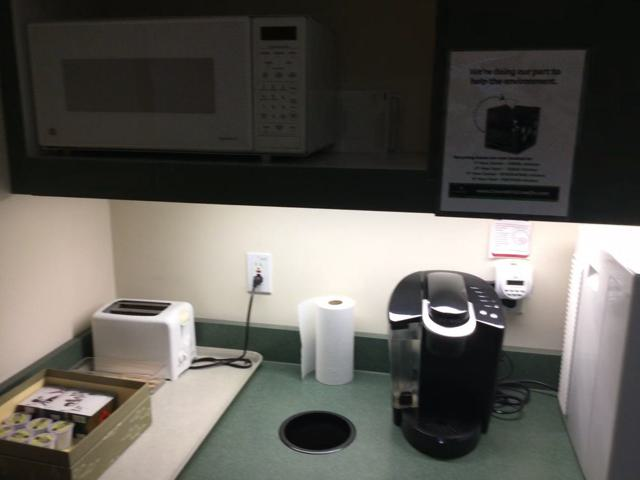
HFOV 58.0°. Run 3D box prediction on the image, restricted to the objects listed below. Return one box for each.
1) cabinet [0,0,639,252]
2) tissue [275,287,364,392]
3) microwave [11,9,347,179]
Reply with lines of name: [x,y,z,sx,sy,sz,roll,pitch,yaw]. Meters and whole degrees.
cabinet: [0.660,-0.350,1.030,2.640,0.680,0.400,5,15,13]
tissue: [0.000,0.250,1.480,0.200,0.210,0.120,5,15,13]
microwave: [-0.280,-0.330,1.290,0.610,0.300,0.360,5,15,13]
